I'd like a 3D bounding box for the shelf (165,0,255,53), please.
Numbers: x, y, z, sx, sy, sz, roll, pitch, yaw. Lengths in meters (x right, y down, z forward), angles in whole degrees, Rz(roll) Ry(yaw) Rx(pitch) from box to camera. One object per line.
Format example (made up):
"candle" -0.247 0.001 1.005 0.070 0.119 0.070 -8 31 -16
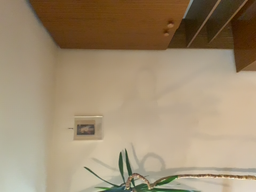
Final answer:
"shelf" 0.740 -0.720 1.760 0.900 0.670 0.370 101 169 -78
